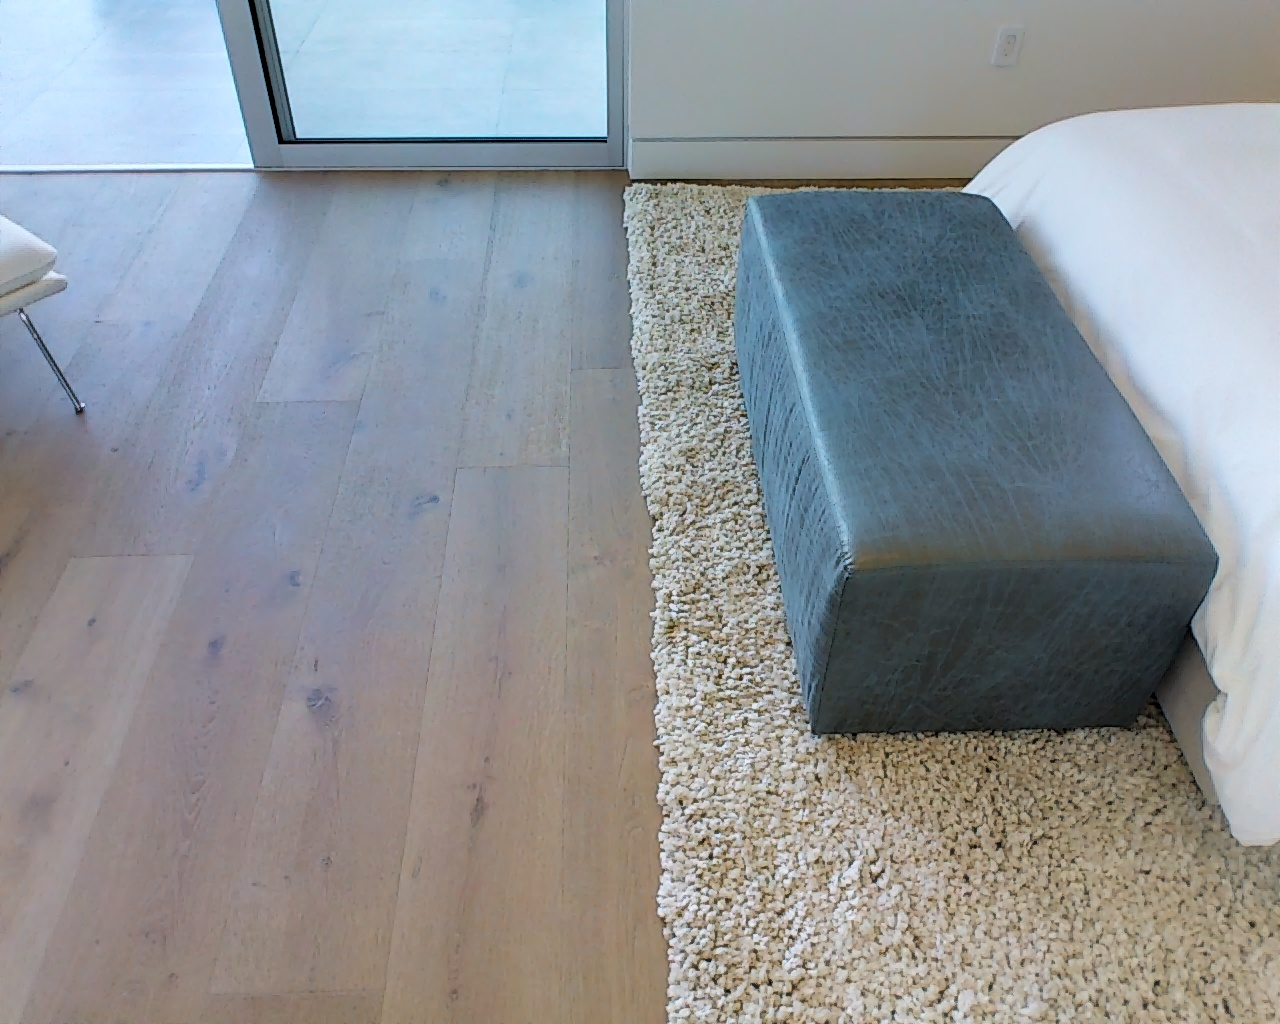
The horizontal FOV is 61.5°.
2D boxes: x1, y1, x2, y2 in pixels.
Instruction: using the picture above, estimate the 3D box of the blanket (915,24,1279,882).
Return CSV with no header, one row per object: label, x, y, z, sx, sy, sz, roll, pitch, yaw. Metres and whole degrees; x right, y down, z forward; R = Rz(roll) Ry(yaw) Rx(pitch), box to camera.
blanket,1.340,-0.350,2.130,1.050,0.520,2.020,-1,42,-2
